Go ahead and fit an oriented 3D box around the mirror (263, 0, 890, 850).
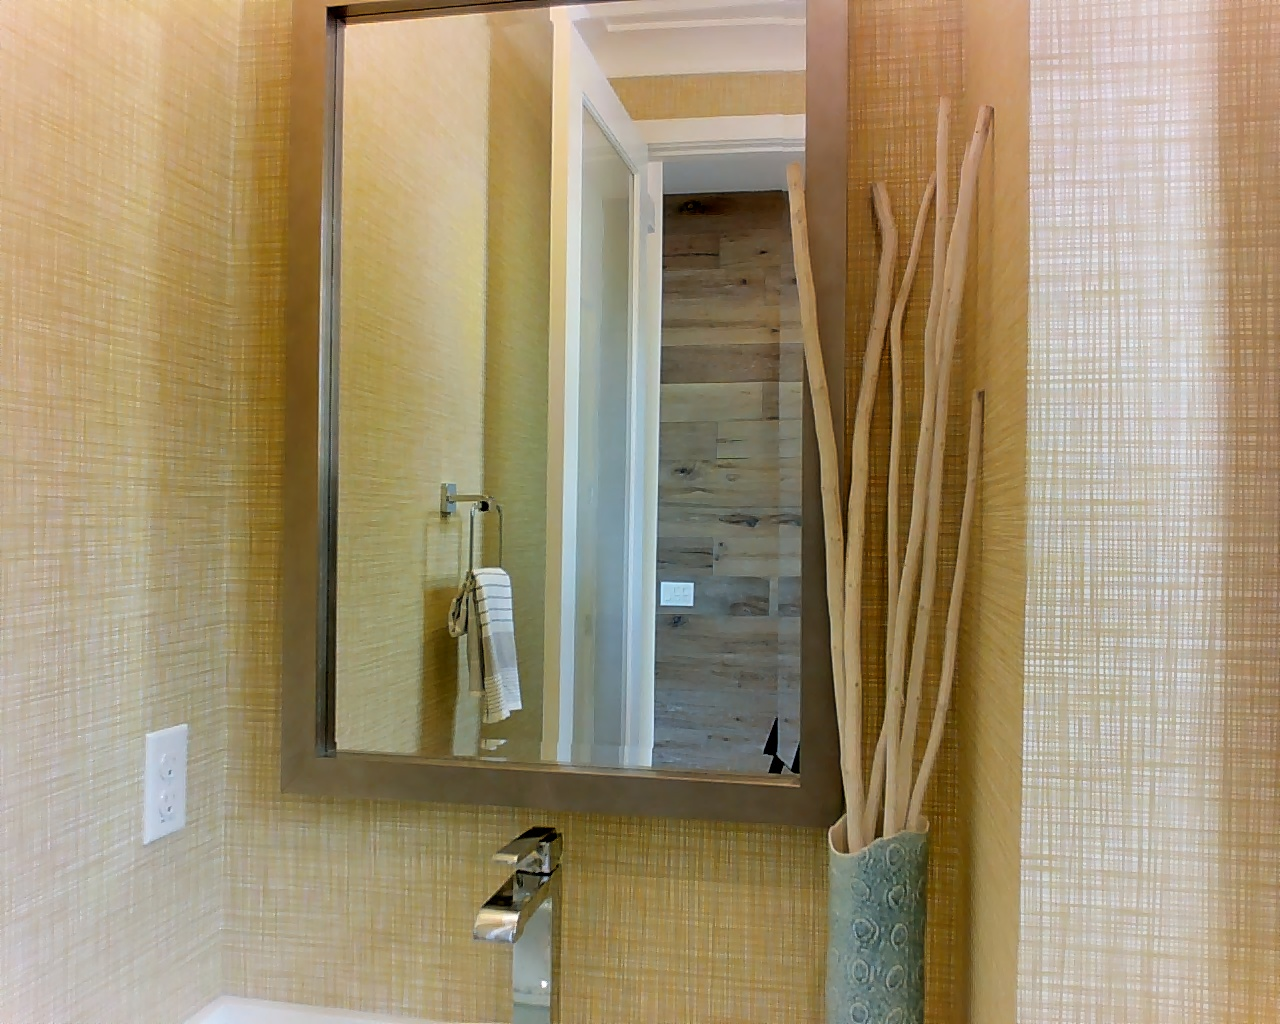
[{"bbox_3d":[-0.070,-0.150,1.140,0.630,0.930,0.110,2,0,11],"label":"mirror"}]
